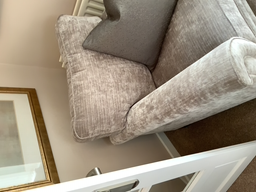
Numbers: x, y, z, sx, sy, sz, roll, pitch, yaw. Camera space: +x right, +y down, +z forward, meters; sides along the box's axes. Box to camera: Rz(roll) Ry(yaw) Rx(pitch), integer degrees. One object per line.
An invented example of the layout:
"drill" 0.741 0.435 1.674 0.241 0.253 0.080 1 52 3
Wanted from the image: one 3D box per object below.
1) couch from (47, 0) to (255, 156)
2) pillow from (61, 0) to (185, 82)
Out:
"couch" 0.160 -0.290 1.300 0.930 0.930 0.960 -38 59 45
"pillow" -0.040 -0.420 1.220 0.230 0.510 0.480 -97 29 -68
